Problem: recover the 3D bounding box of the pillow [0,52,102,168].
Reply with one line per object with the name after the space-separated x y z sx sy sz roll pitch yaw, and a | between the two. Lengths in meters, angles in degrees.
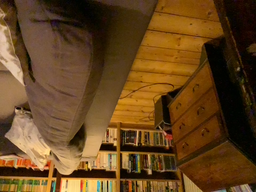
-0.480 0.110 1.320 0.260 0.540 0.470 -40 -11 -31 | pillow
